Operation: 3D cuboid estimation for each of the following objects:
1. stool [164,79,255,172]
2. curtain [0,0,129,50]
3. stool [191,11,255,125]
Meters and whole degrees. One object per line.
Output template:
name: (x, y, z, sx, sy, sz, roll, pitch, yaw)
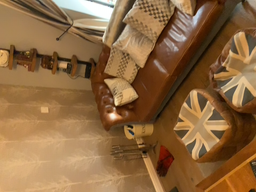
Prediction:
stool: (0.680, 0.240, 1.750, 0.540, 0.390, 0.480, -64, 37, 34)
curtain: (-0.840, -0.910, 2.120, 0.620, 1.620, 0.180, -61, 38, 37)
stool: (0.860, -0.170, 1.450, 0.530, 0.410, 0.510, -64, 37, 34)
